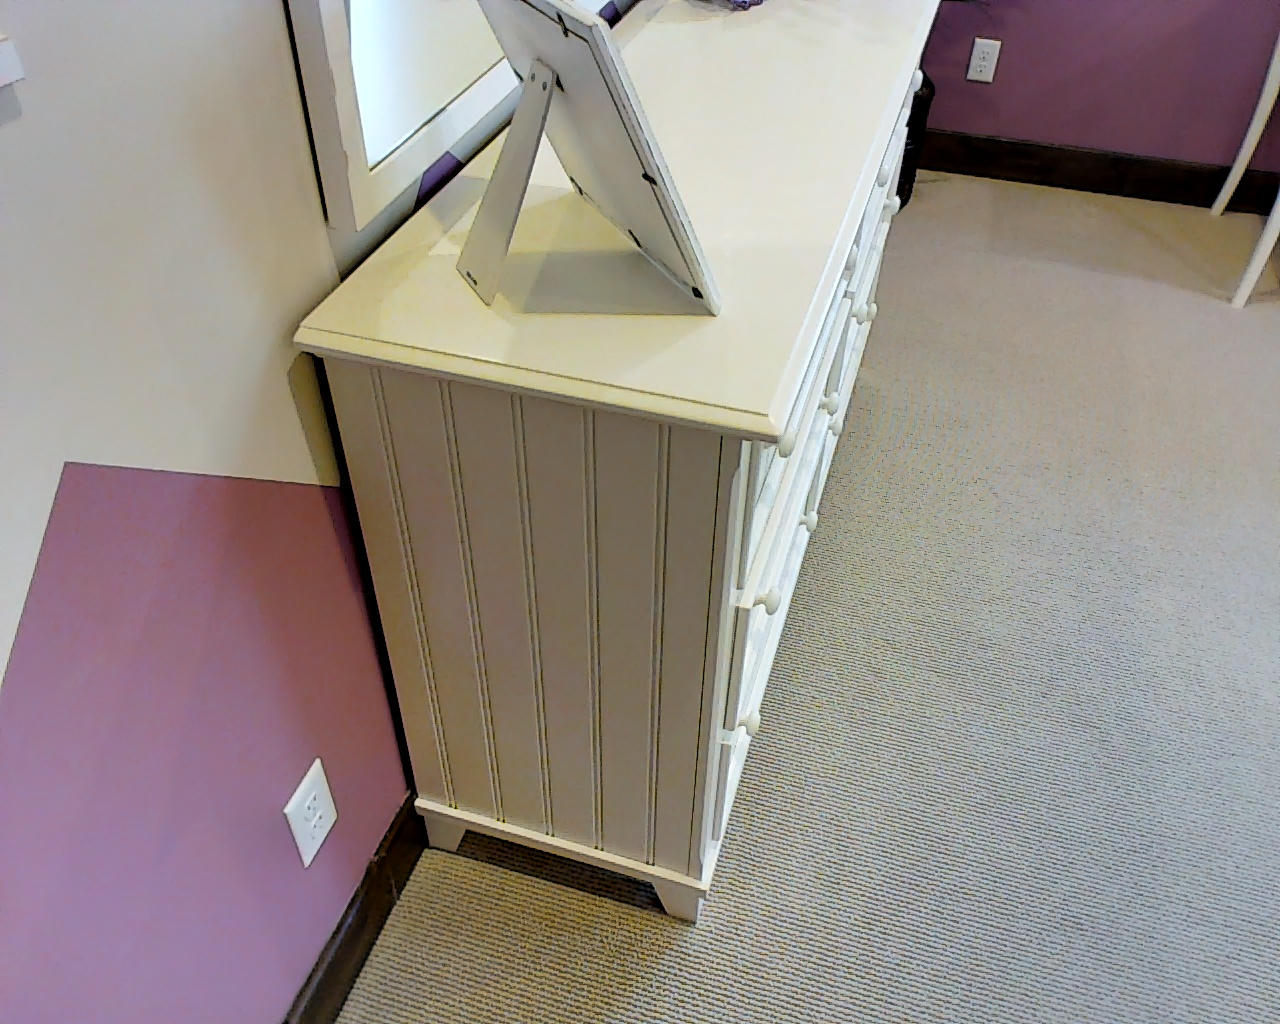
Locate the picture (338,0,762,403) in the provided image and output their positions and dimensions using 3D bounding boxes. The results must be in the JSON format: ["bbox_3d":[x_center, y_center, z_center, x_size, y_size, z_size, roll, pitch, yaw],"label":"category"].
[{"bbox_3d":[-0.110,-0.340,0.990,0.180,0.310,0.350,-7,57,-34],"label":"picture"}]
